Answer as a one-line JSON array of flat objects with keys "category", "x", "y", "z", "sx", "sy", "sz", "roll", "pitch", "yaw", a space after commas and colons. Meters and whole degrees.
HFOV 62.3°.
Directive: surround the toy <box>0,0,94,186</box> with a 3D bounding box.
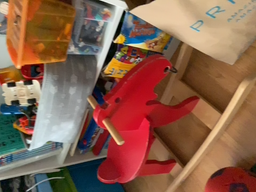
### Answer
[{"category": "toy", "x": -0.380, "y": -0.050, "z": 0.760, "sx": 0.310, "sy": 0.180, "sz": 0.750, "roll": 50, "pitch": 126, "yaw": 37}]
